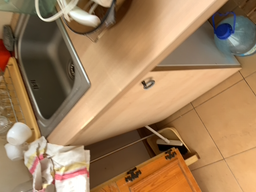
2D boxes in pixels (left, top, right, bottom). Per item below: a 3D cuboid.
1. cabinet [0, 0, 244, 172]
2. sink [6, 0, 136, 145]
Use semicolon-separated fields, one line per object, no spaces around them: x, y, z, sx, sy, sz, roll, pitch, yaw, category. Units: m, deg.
-0.040;-0.170;1.080;0.670;0.850;0.640;-42;67;39;cabinet
-0.270;-0.140;0.850;0.400;0.200;0.510;-42;67;39;sink
